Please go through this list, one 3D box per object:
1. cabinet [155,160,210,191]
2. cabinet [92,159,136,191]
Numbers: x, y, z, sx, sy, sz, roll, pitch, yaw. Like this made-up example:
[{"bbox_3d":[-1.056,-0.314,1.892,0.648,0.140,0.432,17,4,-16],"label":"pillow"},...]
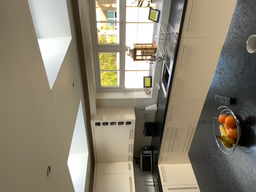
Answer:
[{"bbox_3d":[1.010,1.710,4.140,0.640,0.810,0.590,-96,6,-51],"label":"cabinet"},{"bbox_3d":[-0.280,1.750,4.220,0.890,0.810,0.350,-96,6,-51],"label":"cabinet"}]
